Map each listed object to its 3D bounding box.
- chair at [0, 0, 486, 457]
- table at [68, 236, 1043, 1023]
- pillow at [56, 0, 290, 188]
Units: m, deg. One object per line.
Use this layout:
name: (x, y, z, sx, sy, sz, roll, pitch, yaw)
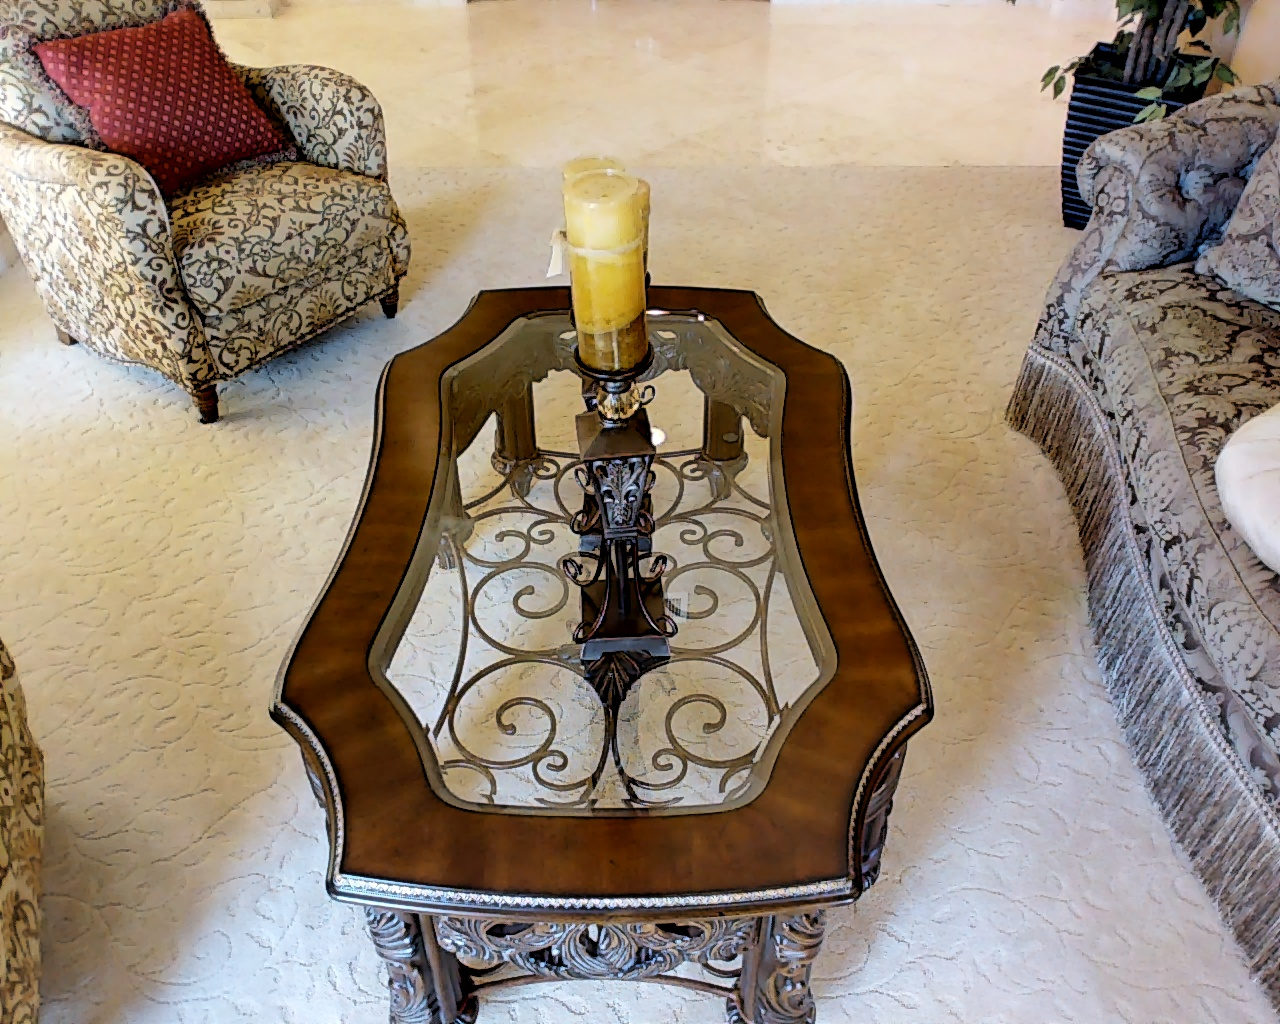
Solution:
chair: (-1.190, -0.950, 2.740, 1.170, 0.960, 0.910, 23, 46, 25)
table: (-0.090, 0.110, 1.850, 1.020, 0.520, 1.480, -1, 41, 0)
pillow: (-1.100, -1.060, 2.560, 0.130, 0.410, 0.510, -2, -3, 38)
